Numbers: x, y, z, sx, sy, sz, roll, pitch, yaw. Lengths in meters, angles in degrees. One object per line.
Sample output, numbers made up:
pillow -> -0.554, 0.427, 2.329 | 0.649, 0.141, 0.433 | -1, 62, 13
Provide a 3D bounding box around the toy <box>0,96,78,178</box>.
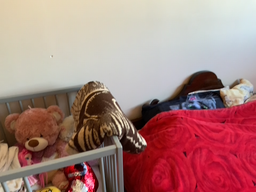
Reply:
toy -> -0.510, 0.230, 1.270 | 0.340, 0.330, 0.260 | -10, 29, -17
